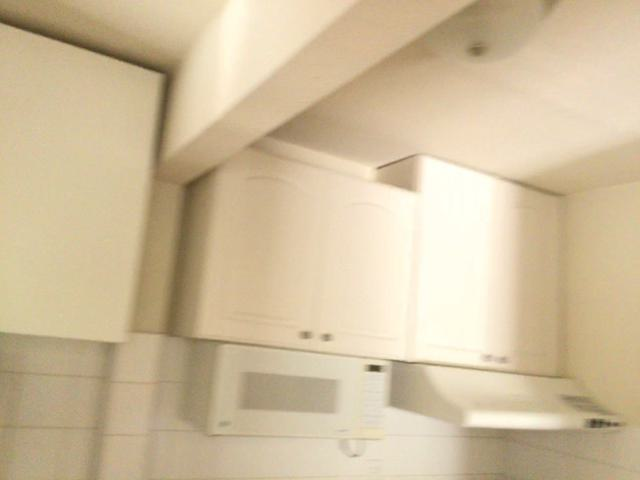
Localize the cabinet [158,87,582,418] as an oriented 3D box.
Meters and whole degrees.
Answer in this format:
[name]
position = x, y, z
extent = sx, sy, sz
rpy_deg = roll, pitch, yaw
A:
[cabinet]
position = 0.260, 0.140, 2.120
extent = 1.500, 0.930, 0.390
rpy_deg = 9, -14, -26
